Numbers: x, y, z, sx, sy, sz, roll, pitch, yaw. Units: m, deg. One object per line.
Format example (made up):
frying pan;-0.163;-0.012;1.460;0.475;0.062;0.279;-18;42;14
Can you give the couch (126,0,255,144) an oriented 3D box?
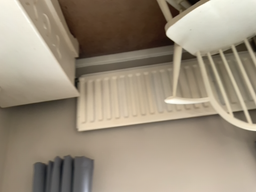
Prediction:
couch;0.420;-0.260;0.930;0.560;0.730;0.600;-26;146;34
